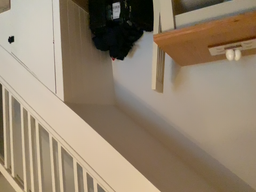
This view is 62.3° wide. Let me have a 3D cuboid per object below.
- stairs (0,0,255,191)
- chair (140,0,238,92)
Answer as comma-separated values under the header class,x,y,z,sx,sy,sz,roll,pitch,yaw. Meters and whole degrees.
class,x,y,z,sx,sy,sz,roll,pitch,yaw
stairs,-0.210,0.220,1.810,2.200,2.300,0.670,-6,175,23
chair,0.400,-0.560,1.520,0.520,0.990,0.450,-6,175,16
